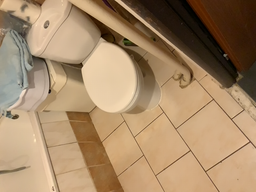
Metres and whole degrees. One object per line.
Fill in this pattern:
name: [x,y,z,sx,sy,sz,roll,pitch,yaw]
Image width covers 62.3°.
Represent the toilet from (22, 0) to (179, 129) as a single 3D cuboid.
toilet: [-0.170,-0.220,1.390,0.400,0.720,0.740,-44,58,21]
